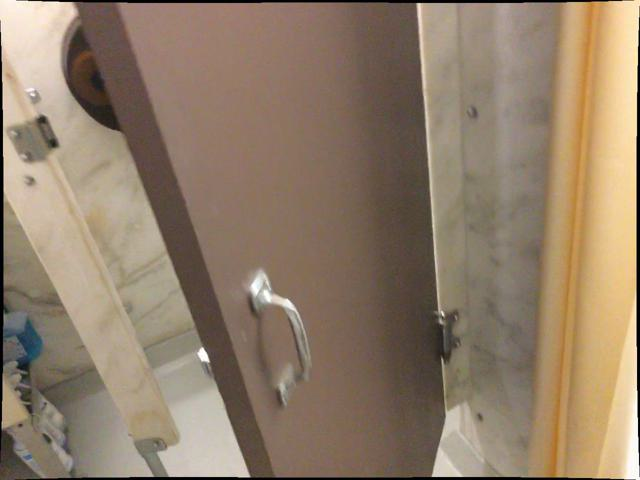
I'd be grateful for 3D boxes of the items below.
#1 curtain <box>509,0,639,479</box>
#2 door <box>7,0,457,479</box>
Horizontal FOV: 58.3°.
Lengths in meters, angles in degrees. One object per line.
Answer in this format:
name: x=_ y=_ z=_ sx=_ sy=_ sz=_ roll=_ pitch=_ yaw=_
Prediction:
curtain: x=0.400 y=0.090 z=0.900 sx=0.100 sy=1.261 sz=0.180 roll=-20 pitch=31 yaw=-15
door: x=0.050 y=-0.030 z=0.770 sx=0.090 sy=1.431 sz=0.750 roll=2 pitch=32 yaw=21
